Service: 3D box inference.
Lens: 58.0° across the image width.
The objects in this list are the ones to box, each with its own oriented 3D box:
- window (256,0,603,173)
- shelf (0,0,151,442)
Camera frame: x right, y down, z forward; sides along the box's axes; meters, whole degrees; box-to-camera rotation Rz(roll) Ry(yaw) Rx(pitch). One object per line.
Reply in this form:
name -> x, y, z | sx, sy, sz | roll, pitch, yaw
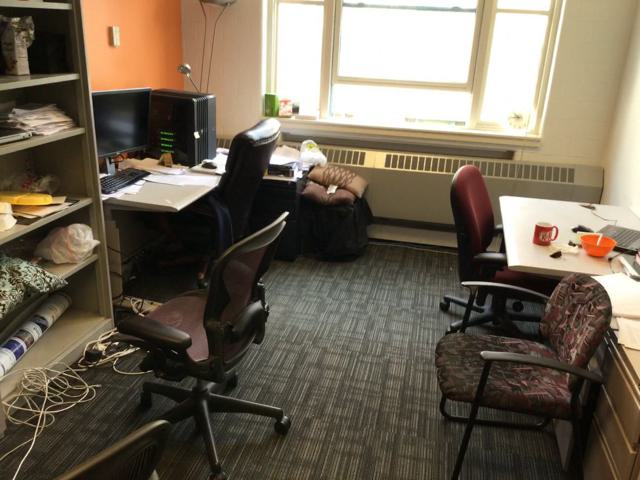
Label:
window -> 0.670, -1.190, 4.100 | 2.200, 1.100, 0.340 | 9, 19, 12
shelf -> -1.260, -0.410, 2.450 | 0.580, 2.080, 1.080 | 9, 19, 12
